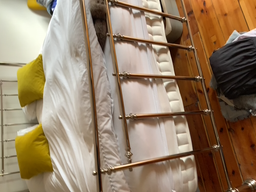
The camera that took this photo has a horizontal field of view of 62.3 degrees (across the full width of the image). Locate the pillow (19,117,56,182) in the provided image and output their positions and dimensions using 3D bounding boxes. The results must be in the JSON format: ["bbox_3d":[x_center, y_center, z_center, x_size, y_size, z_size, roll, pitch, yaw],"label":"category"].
[{"bbox_3d":[-0.920,0.540,2.110,0.600,0.220,0.530,-30,65,54],"label":"pillow"}]
